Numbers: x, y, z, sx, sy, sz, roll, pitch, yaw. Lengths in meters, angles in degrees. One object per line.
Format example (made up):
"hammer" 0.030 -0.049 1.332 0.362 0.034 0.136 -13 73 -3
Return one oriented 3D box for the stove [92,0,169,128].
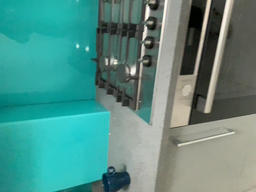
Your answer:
"stove" -0.030 -0.250 0.820 0.520 0.030 0.570 35 125 55
